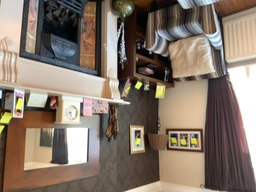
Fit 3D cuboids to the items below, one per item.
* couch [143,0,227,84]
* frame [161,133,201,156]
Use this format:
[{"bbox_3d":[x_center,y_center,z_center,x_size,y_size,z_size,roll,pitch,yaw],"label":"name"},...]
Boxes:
[{"bbox_3d":[0.710,-0.660,2.580,0.720,0.820,0.840,-5,170,34],"label":"couch"},{"bbox_3d":[0.730,0.670,2.990,0.540,0.290,0.120,-7,169,40],"label":"frame"}]
